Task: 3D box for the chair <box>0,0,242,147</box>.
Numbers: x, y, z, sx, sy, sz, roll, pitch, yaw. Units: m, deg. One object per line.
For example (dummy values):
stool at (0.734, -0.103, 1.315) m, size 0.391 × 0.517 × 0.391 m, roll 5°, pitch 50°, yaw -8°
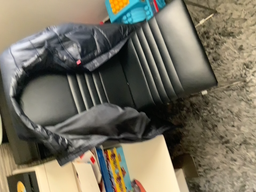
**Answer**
chair at (0.060, -0.140, 0.960) m, size 0.500 × 0.980 × 0.390 m, roll -28°, pitch 77°, yaw 39°
